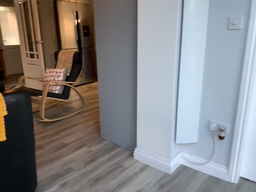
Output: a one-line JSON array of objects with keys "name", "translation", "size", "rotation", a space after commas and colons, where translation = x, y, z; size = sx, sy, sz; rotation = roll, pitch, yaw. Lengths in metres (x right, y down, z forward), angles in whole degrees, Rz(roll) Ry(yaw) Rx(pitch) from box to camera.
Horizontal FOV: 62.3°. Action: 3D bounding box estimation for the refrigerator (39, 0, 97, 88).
[{"name": "refrigerator", "translation": [-1.370, -1.210, 5.000], "size": [0.820, 1.800, 0.890], "rotation": [14, 22, 39]}]
